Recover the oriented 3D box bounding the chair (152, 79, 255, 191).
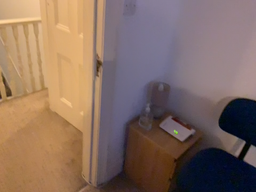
[{"bbox_3d":[0.580,0.470,1.210,0.590,0.840,0.640,30,37,32],"label":"chair"}]
